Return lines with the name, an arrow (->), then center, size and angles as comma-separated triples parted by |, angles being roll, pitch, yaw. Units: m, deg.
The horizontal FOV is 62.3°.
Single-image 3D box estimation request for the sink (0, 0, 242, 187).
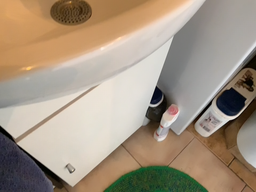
sink -> -0.080, -0.180, 0.340 | 0.450, 0.150, 0.380 | -39, 71, -25
